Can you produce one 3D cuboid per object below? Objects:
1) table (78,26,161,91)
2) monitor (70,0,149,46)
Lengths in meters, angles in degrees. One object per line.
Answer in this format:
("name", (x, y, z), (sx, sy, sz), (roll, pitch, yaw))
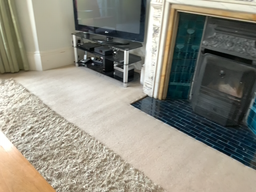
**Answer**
("table", (-0.170, -0.600, 3.070), (1.100, 0.570, 0.540), (28, 37, 37))
("monitor", (-0.260, -1.030, 2.560), (1.040, 0.640, 0.090), (17, 31, 23))
